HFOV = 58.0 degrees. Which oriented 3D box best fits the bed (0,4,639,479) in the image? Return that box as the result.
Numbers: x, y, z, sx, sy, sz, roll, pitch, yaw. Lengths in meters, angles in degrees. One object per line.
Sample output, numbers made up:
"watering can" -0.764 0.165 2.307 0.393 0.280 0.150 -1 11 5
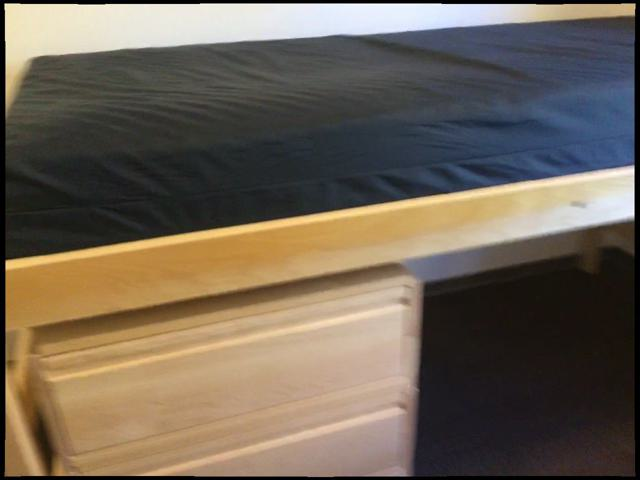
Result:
"bed" 0.409 -0.010 1.670 2.346 1.102 1.050 -8 28 -15
